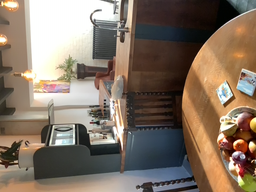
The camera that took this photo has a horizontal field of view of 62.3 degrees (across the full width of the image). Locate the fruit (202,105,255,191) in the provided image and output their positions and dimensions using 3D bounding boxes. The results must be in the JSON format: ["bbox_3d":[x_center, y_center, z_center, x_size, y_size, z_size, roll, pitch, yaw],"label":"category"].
[{"bbox_3d":[0.490,0.280,0.880,0.290,0.110,0.390,-113,27,-56],"label":"fruit"}]

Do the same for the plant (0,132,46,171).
[{"bbox_3d":[-1.220,0.600,2.330,0.400,0.550,0.210,-126,39,-66],"label":"plant"}]

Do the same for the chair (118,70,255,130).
[{"bbox_3d":[0.480,0.060,1.890,0.520,1.040,0.370,129,138,-67],"label":"chair"}]
